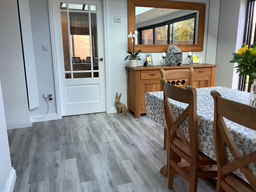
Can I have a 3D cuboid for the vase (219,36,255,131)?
[{"bbox_3d":[0.890,-0.100,1.390,0.360,0.550,0.330,-5,14,-21],"label":"vase"}]
